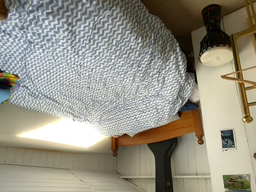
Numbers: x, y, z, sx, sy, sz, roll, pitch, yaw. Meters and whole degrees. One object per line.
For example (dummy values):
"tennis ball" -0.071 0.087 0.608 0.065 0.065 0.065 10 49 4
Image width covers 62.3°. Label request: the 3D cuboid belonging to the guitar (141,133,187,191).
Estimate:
"guitar" 0.420 0.840 2.540 0.400 0.700 0.290 -19 152 38
